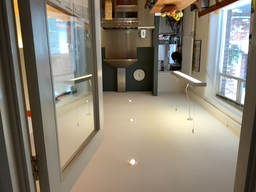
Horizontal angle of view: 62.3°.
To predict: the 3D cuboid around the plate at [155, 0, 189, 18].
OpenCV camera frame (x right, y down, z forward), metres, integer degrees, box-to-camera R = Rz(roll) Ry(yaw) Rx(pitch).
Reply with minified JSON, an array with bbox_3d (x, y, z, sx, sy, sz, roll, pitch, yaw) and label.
[{"bbox_3d":[0.680,-1.360,3.330,0.450,0.200,0.350,-1,-166,0],"label":"plate"}]
